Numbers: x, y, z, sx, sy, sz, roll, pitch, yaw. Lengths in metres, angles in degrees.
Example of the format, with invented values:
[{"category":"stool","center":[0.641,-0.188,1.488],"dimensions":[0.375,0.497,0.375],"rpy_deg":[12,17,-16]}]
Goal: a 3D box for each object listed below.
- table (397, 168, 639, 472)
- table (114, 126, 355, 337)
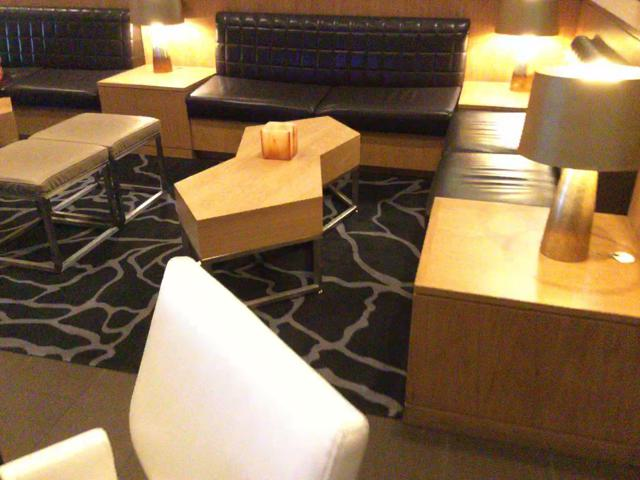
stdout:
[{"category":"table","center":[0.670,0.180,2.030],"dimensions":[0.670,0.530,0.990],"rpy_deg":[6,26,11]},{"category":"table","center":[-0.290,-0.110,2.590],"dimensions":[0.730,0.520,0.990],"rpy_deg":[6,26,11]}]
